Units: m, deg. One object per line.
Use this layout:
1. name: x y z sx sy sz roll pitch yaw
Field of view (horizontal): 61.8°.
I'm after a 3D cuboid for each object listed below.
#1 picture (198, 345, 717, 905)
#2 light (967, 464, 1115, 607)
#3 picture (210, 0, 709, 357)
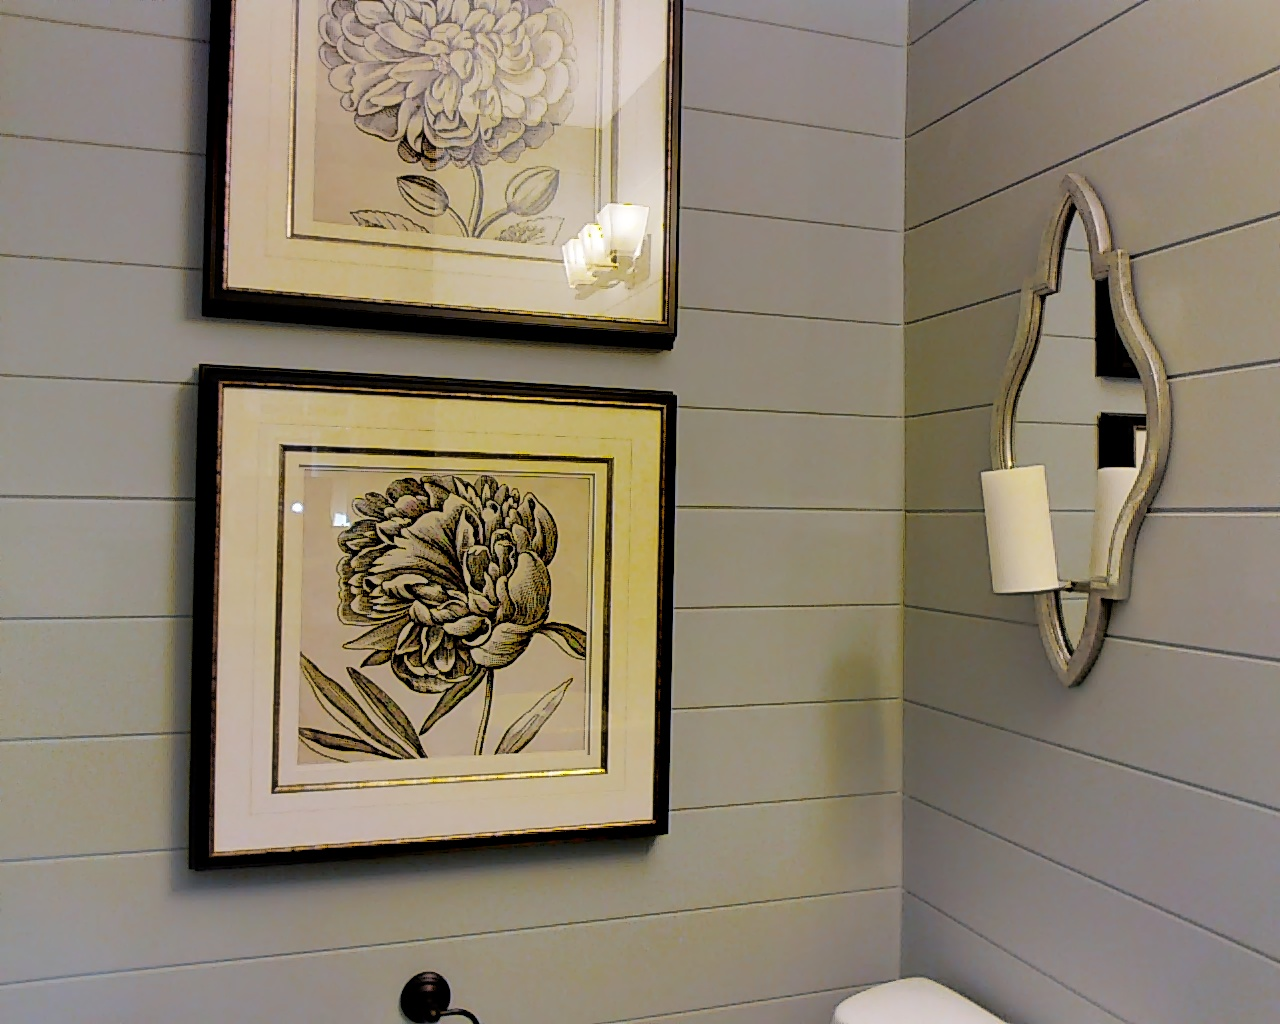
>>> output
1. picture: -0.230 0.150 1.480 0.680 0.700 0.070 2 -1 -18
2. light: 0.500 0.030 1.340 0.130 0.170 0.110 2 -1 -18
3. picture: -0.230 -0.580 1.490 0.660 0.670 0.080 2 -1 -18
